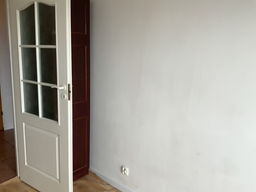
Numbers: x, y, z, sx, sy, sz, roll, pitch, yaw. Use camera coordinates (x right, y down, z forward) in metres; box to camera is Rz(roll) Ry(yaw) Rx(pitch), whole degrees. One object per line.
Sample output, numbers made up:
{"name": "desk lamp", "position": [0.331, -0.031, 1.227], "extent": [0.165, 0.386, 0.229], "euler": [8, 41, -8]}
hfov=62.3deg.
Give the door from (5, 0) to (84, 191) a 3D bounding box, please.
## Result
{"name": "door", "position": [-0.830, -0.030, 2.090], "extent": [0.950, 2.180, 0.150], "euler": [10, 13, 33]}
